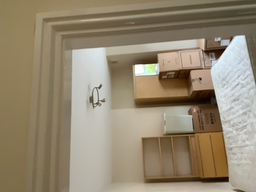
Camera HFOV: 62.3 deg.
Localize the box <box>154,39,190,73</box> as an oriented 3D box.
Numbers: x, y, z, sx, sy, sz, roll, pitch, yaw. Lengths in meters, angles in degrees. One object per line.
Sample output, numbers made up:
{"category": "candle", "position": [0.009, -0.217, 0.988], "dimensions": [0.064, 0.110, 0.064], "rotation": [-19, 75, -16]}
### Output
{"category": "box", "position": [0.920, -0.840, 4.540], "dimensions": [0.450, 0.650, 0.520], "rotation": [76, -169, -74]}
